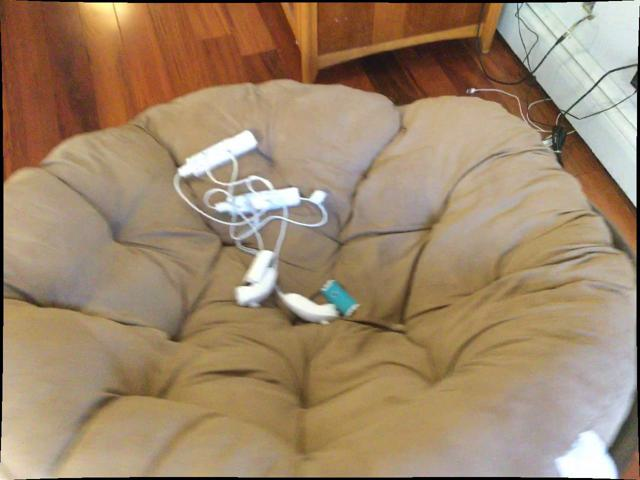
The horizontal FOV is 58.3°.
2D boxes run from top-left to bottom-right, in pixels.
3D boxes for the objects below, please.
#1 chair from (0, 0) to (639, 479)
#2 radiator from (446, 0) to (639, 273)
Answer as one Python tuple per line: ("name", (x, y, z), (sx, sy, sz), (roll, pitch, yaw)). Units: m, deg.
("chair", (-0.080, 0.070, 1.130), (1.109, 0.760, 1.111), (-13, 57, -10))
("radiator", (0.629, -0.841, 2.050), (0.140, 0.230, 3.882), (-13, 57, -10))
